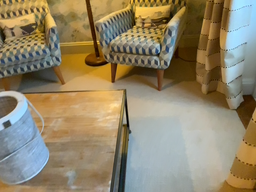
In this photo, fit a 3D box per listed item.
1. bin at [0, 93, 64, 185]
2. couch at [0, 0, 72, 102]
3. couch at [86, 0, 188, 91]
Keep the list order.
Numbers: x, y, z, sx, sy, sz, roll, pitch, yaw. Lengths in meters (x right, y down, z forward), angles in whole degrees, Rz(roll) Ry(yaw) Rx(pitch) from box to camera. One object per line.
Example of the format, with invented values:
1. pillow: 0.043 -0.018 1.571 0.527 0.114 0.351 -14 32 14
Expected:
1. bin: -0.470 0.180 0.890 0.270 0.300 0.230 -2 35 5
2. couch: -1.090 -0.590 2.190 0.720 0.840 0.860 -15 36 -13
3. couch: 0.170 -0.680 2.140 0.720 0.850 0.860 8 37 18
